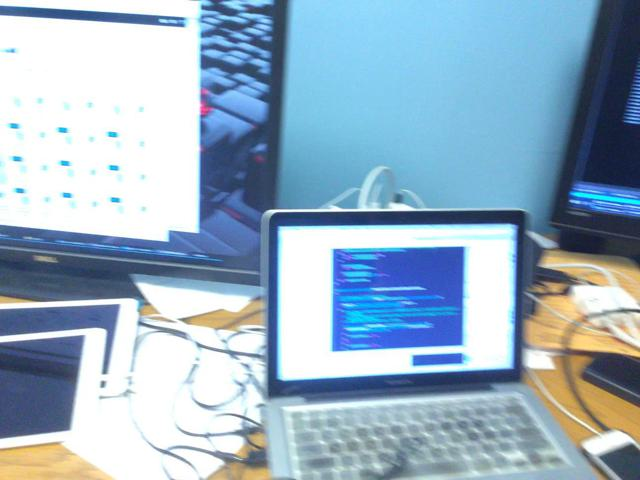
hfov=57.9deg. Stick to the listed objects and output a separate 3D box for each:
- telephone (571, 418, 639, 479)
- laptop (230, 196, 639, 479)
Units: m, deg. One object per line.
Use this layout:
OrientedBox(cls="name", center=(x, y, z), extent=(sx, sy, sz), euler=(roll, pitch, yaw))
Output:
OrientedBox(cls="telephone", center=(0.320, 0.230, 0.570), extent=(0.060, 0.010, 0.140), euler=(-5, 23, -15))
OrientedBox(cls="laptop", center=(0.090, 0.130, 0.600), extent=(0.330, 0.260, 0.330), euler=(0, 22, -4))
